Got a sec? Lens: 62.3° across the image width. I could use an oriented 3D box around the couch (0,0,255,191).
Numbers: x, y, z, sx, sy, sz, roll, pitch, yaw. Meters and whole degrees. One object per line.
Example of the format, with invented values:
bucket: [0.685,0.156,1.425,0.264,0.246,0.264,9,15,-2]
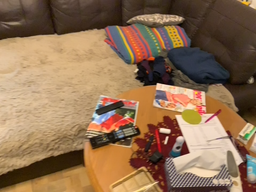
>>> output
couch: [-0.210,-0.390,1.840,2.550,0.930,1.650,-12,45,-21]
